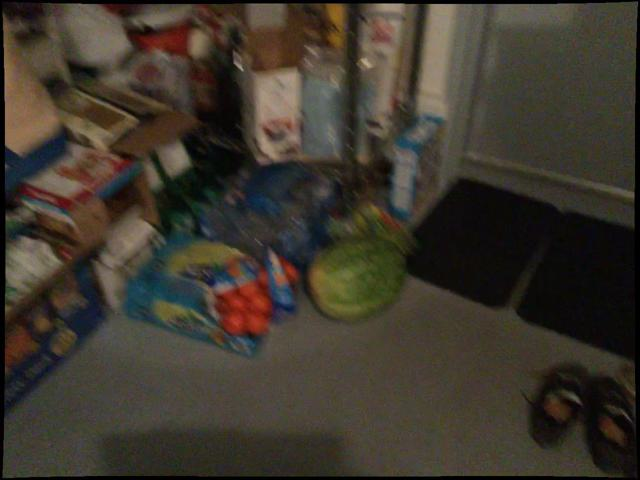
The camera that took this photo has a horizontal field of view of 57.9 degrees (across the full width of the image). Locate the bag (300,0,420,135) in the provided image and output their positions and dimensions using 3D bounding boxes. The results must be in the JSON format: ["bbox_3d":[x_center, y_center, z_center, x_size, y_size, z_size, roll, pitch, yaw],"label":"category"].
[{"bbox_3d":[0.120,-0.641,1.730,0.290,0.560,0.200,21,47,23],"label":"bag"}]

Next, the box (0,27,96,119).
[{"bbox_3d":[-0.819,-0.511,1.760,0.100,0.190,0.200,21,47,23],"label":"box"}]

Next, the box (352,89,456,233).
[{"bbox_3d":[0.270,-0.260,1.880,0.210,0.310,0.300,21,47,23],"label":"box"}]

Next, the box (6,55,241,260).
[{"bbox_3d":[-0.589,-0.270,1.810,0.550,0.400,0.320,21,47,23],"label":"box"}]

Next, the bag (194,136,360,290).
[{"bbox_3d":[-0.120,-0.100,1.810,0.360,0.220,0.360,21,47,23],"label":"bag"}]
